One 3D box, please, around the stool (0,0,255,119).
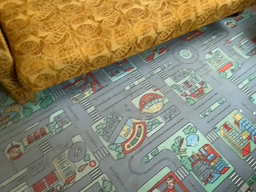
[{"bbox_3d":[0.010,-0.790,1.670,2.200,0.470,1.000,-25,64,-19],"label":"stool"}]
